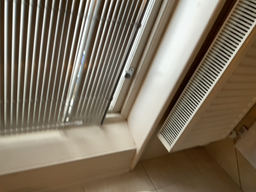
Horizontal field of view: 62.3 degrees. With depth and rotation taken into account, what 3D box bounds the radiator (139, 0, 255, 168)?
[{"bbox_3d":[0.470,-0.120,0.830,0.120,0.570,0.950,53,132,39],"label":"radiator"}]
